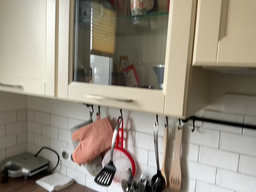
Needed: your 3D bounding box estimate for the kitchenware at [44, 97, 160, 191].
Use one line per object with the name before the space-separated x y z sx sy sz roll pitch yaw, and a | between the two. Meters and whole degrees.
kitchenware | -0.160 0.280 1.100 0.590 0.480 0.160 7 7 28
